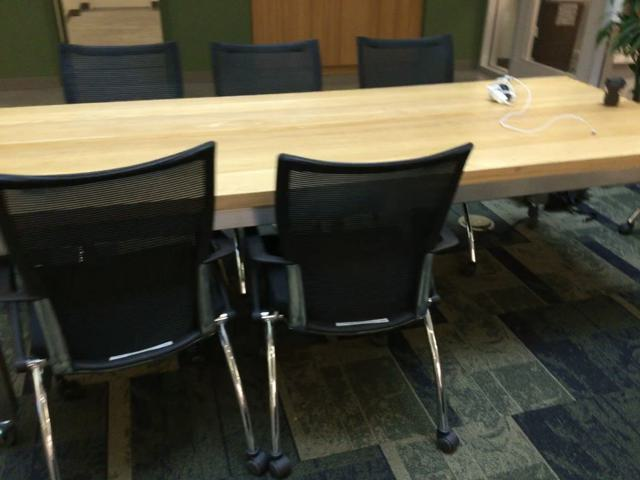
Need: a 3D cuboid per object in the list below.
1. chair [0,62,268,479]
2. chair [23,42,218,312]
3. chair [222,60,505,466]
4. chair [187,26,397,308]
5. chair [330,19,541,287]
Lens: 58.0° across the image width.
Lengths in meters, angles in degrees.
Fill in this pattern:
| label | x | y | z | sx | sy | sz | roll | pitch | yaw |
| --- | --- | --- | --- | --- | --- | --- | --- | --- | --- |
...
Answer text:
| label | x | y | z | sx | sy | sz | roll | pitch | yaw |
| --- | --- | --- | --- | --- | --- | --- | --- | --- | --- |
| chair | -0.560 | 0.090 | 1.570 | 0.560 | 0.940 | 0.700 | -15 | 32 | -27 |
| chair | -0.710 | -0.270 | 2.240 | 0.520 | 0.840 | 0.600 | -6 | 29 | -12 |
| chair | 0.050 | 0.030 | 1.710 | 0.560 | 0.950 | 0.650 | -6 | 29 | -12 |
| chair | -0.150 | -0.330 | 2.340 | 0.660 | 0.910 | 0.670 | -6 | 29 | -12 |
| chair | 0.410 | -0.400 | 2.460 | 0.570 | 0.920 | 0.670 | -6 | 29 | -12 |
